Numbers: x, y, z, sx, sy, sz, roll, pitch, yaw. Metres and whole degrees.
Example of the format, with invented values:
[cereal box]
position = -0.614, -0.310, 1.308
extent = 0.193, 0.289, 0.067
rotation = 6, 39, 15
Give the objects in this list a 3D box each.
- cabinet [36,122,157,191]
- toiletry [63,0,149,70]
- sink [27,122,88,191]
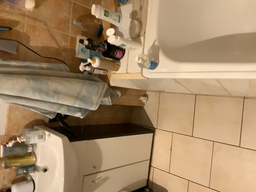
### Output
[cabinet]
position = -0.180, 0.460, 1.510
extent = 0.310, 0.780, 0.470
rotation = 10, 94, 44
[toiletry]
position = -0.120, -0.460, 1.180
extent = 0.380, 0.270, 0.580
rotation = 3, 89, 44
[sink]
position = -0.420, 0.440, 1.200
extent = 0.390, 0.110, 0.510
rotation = 10, 94, 44
